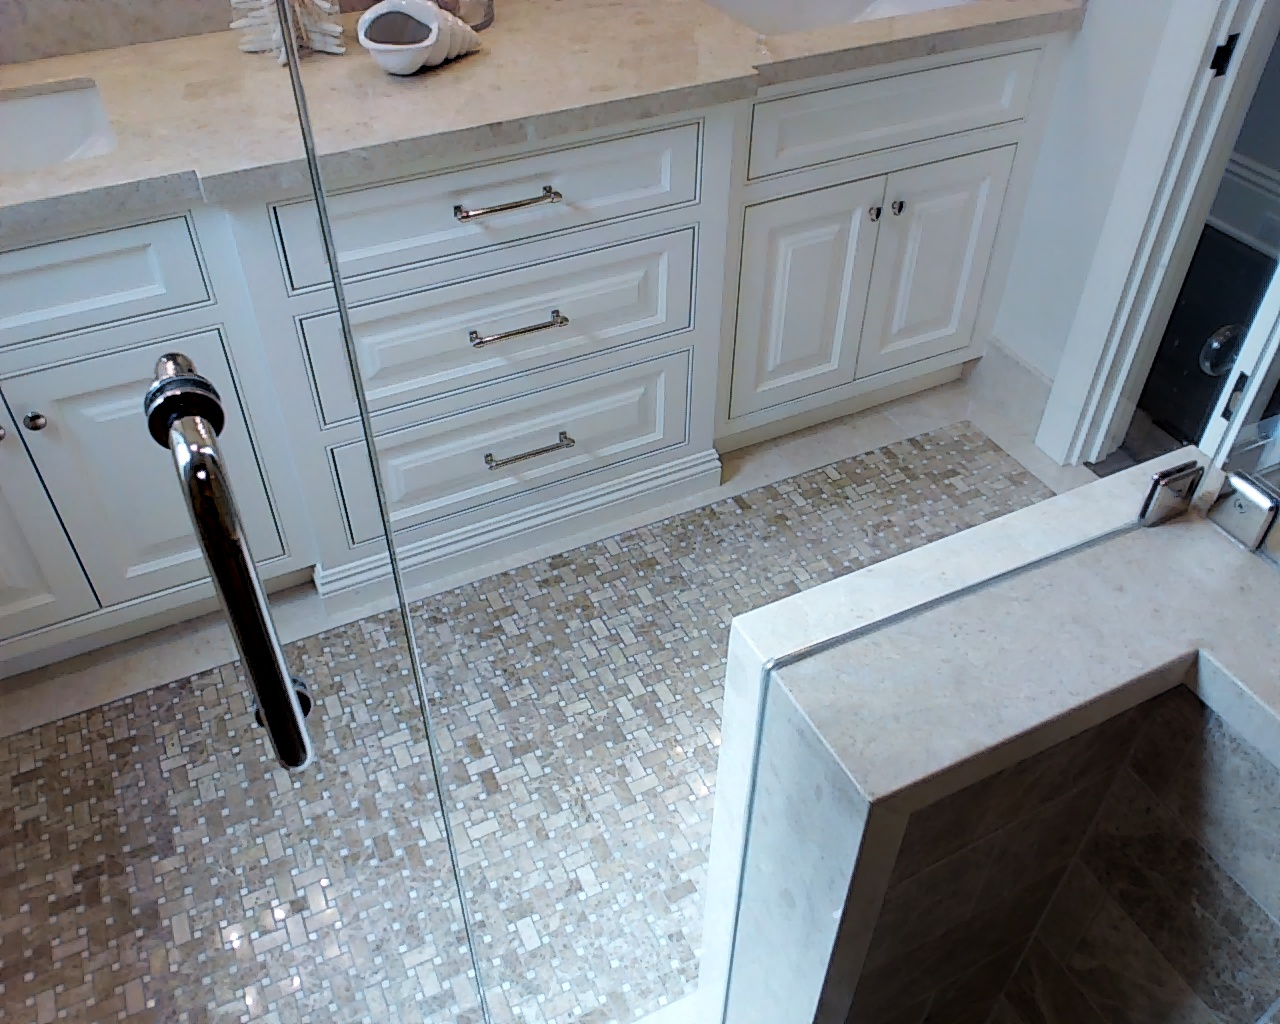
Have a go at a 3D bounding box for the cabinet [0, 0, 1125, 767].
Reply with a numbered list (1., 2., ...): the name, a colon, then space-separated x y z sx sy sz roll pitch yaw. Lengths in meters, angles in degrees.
1. cabinet: -0.310 -0.410 2.110 2.370 0.970 0.620 -18 44 -19
